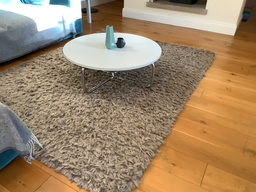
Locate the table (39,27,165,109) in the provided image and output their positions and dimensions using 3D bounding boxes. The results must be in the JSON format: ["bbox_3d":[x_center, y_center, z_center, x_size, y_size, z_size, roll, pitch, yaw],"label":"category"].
[{"bbox_3d":[-0.200,-0.350,2.090,0.840,0.300,0.870,19,37,22],"label":"table"}]
